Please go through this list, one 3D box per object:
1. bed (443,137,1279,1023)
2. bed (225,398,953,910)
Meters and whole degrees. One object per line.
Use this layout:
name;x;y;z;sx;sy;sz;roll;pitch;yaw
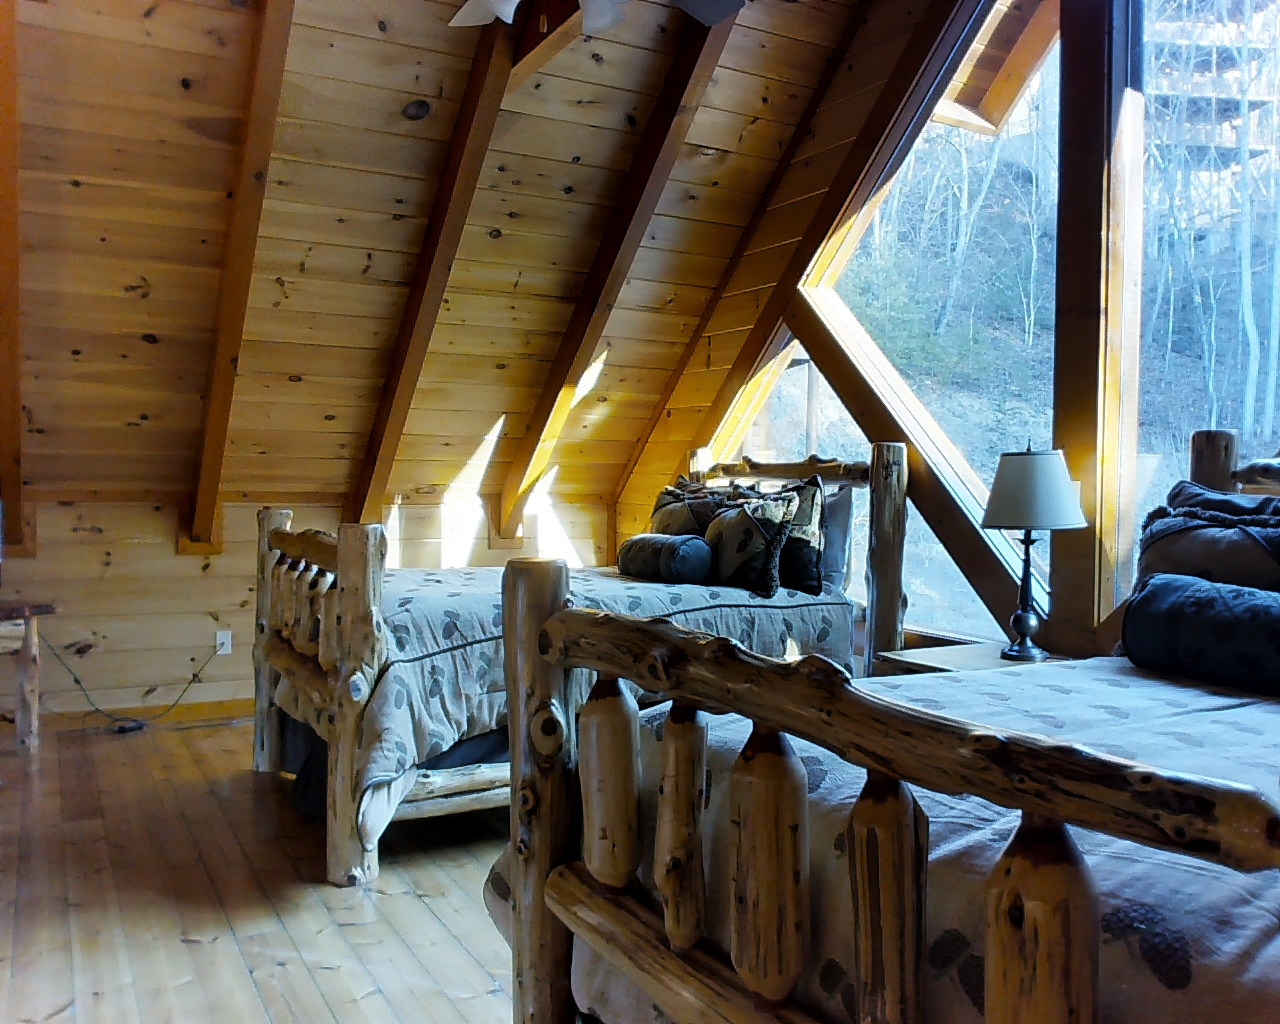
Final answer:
bed;1.090;0.450;1.840;2.289;1.511;1.920;-1;5;-30
bed;-0.290;0.350;4.300;2.309;1.400;1.850;-1;2;-29
